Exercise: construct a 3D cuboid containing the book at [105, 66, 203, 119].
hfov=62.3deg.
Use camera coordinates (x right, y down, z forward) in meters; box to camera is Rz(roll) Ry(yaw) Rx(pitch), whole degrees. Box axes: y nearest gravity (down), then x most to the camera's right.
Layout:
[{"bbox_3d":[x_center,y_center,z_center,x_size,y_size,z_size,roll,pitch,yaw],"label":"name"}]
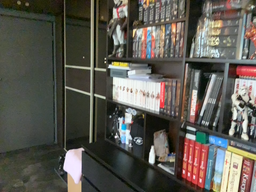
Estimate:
[{"bbox_3d":[0.150,-0.070,1.650,0.260,0.290,0.770,-5,12,-39],"label":"book"}]
